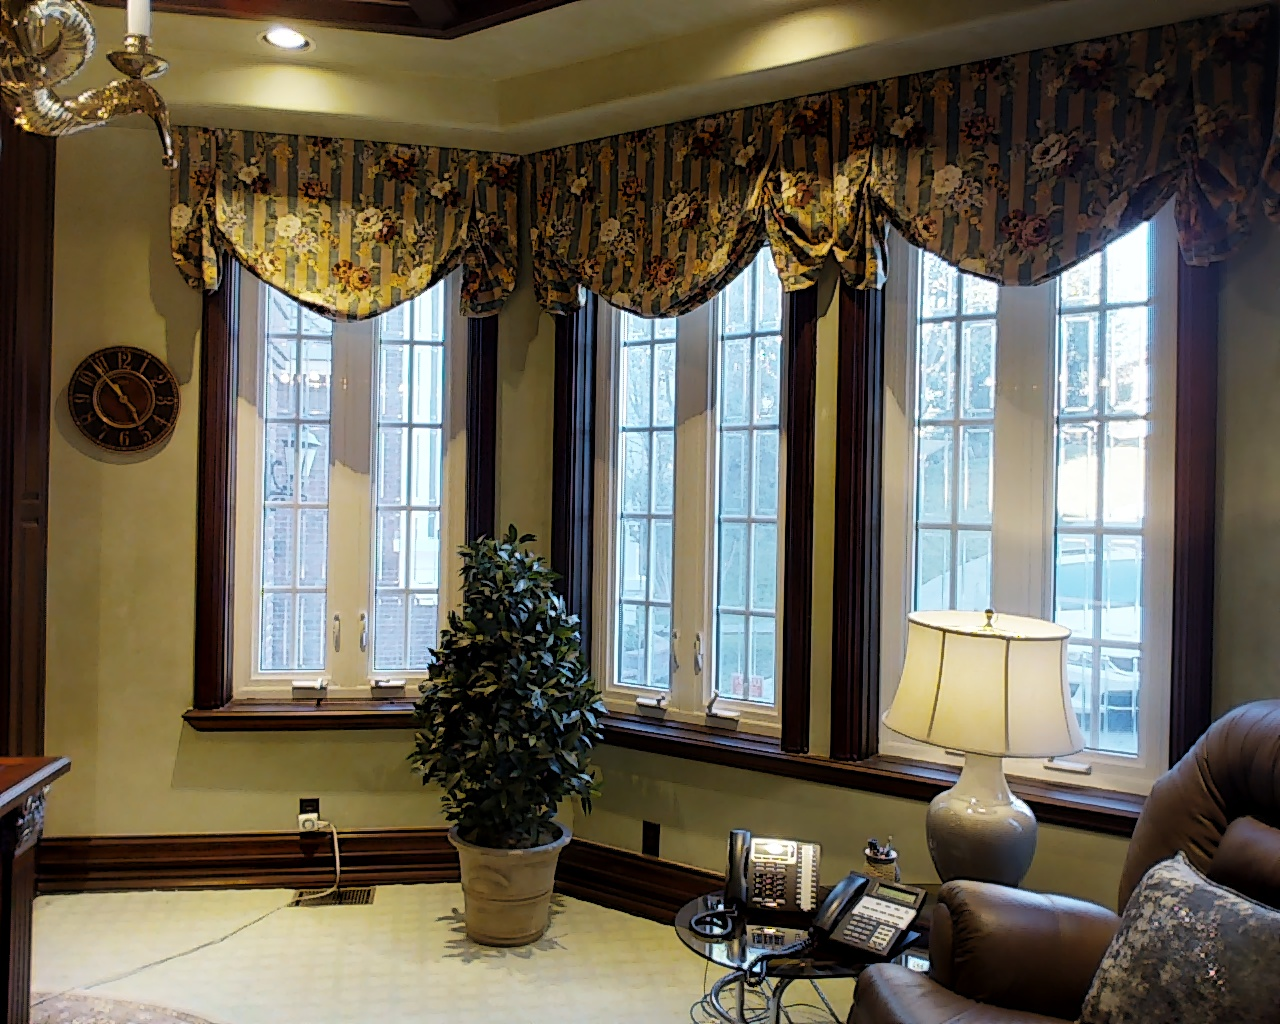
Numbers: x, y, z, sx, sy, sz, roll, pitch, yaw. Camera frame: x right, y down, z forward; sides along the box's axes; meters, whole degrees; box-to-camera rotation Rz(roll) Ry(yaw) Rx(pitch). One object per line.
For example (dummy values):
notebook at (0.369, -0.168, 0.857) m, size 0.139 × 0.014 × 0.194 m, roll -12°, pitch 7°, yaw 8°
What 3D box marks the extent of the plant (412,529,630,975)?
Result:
plant at (-0.410, 0.720, 3.520) m, size 0.630 × 1.300 × 0.610 m, roll 1°, pitch 0°, yaw -11°
